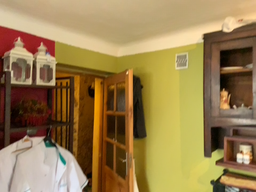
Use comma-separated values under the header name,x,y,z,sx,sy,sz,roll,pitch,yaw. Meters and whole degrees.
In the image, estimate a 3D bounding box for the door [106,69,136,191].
name,x,y,z,sx,sy,sz,roll,pitch,yaw
door,-0.100,0.690,2.380,0.110,1.900,0.610,2,-2,-22
